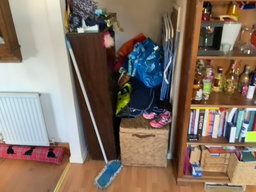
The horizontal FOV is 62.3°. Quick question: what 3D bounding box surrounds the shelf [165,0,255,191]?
[{"bbox_3d":[0.790,-0.100,1.540,0.880,1.930,0.440,4,27,8],"label":"shelf"}]
